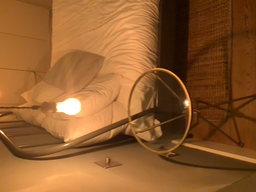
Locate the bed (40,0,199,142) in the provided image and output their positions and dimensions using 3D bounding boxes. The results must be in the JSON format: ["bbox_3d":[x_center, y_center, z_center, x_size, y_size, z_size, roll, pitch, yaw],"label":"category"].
[{"bbox_3d":[-0.210,-0.820,1.880,1.560,0.550,2.070,4,92,51],"label":"bed"}]
